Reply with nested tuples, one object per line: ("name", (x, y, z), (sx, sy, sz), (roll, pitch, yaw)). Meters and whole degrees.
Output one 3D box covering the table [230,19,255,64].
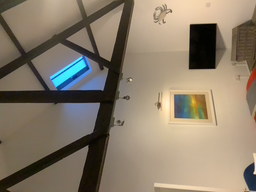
("table", (2.290, -1.060, 4.240), (0.480, 0.330, 0.790), (-15, -75, -79))
